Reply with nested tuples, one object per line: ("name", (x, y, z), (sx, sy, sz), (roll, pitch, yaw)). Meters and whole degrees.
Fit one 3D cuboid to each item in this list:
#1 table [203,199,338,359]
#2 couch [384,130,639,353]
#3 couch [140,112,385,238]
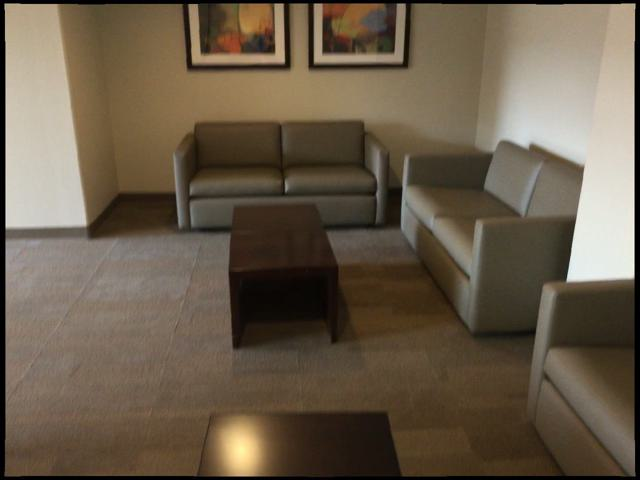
("table", (-0.269, 0.150, 3.130), (0.599, 0.431, 1.050), (-2, 22, -6))
("couch", (0.998, -0.120, 3.420), (0.888, 0.731, 1.640), (-2, 22, -5))
("couch", (-0.419, -0.541, 4.440), (1.647, 0.721, 0.880), (-2, 22, -5))
